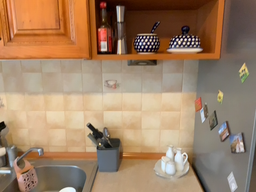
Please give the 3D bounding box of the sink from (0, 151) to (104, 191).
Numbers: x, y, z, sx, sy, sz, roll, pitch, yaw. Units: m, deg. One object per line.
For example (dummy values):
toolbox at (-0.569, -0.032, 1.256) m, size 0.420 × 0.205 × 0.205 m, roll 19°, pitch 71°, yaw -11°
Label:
sink at (-0.340, 0.480, 0.950) m, size 0.390 × 0.220 × 0.520 m, roll 1°, pitch 14°, yaw 1°

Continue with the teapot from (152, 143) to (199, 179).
teapot at (0.220, 0.310, 1.040) m, size 0.200 × 0.070 × 0.200 m, roll 2°, pitch 14°, yaw 4°
